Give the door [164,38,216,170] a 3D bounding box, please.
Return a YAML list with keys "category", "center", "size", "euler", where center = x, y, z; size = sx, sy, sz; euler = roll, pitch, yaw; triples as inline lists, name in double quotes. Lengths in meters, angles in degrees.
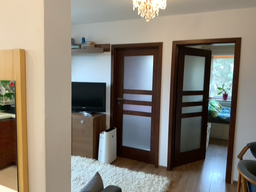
- category: "door"
  center: [1.100, 0.140, 3.700]
  size: [1.050, 2.120, 0.110]
  euler: [-2, 7, -34]
